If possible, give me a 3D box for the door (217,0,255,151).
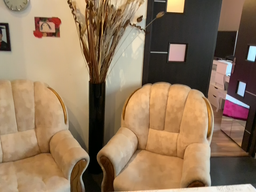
[{"bbox_3d":[1.620,-0.320,2.870,0.120,1.940,0.780,2,17,-5],"label":"door"}]
